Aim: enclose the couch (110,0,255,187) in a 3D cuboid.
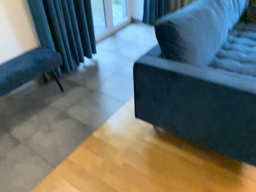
[{"bbox_3d":[0.910,-0.450,2.080,1.050,0.900,2.090,19,43,27],"label":"couch"}]
